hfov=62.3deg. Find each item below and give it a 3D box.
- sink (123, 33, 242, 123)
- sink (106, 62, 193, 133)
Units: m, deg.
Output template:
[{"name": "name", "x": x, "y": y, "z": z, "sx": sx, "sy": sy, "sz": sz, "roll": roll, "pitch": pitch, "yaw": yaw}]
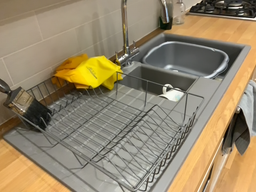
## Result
[{"name": "sink", "x": 0.280, "y": -0.130, "z": 1.100, "sx": 0.450, "sy": 0.210, "sz": 0.400, "roll": 19, "pitch": 41, "yaw": 30}, {"name": "sink", "x": 0.090, "y": -0.010, "z": 0.900, "sx": 0.290, "sy": 0.150, "sz": 0.200, "roll": 19, "pitch": 41, "yaw": 30}]
